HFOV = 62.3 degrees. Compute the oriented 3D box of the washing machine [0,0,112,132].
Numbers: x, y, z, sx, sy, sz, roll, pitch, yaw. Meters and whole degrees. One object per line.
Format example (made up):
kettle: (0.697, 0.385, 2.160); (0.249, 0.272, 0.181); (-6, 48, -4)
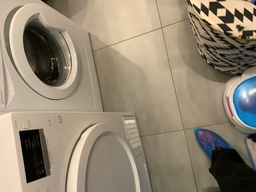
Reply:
washing machine: (-0.530, -0.150, 1.050); (0.500, 0.840, 0.590); (-13, 82, 19)
